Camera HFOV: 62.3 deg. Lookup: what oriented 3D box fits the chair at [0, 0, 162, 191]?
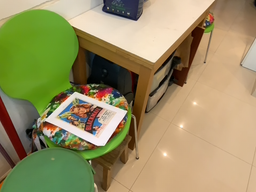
[{"bbox_3d":[-0.250,0.080,1.040,0.500,0.880,0.440,29,49,18],"label":"chair"}]
